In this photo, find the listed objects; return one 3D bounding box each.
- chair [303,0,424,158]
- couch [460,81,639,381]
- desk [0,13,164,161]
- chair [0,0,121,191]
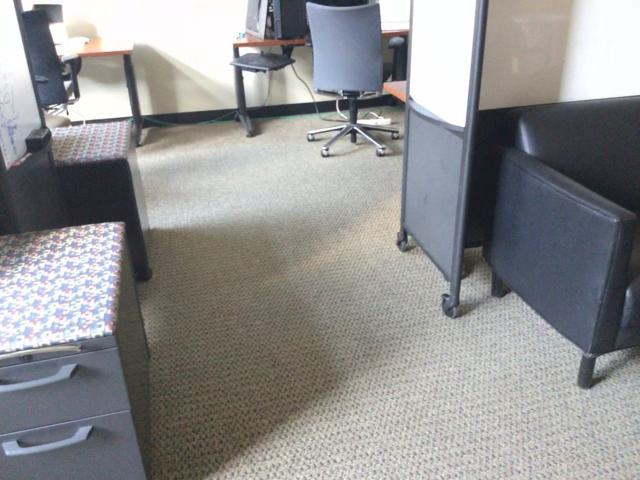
[{"bbox_3d":[0.320,-1.150,3.820,0.680,0.970,0.860,2,27,9],"label":"chair"},{"bbox_3d":[1.260,-0.140,2.040,1.180,0.640,0.890,-7,27,-10],"label":"couch"},{"bbox_3d":[-1.940,-1.070,4.000,1.540,0.790,0.760,-7,27,-10],"label":"desk"},{"bbox_3d":[-1.710,-0.920,3.550,0.700,1.020,0.630,-7,27,-10],"label":"chair"}]
